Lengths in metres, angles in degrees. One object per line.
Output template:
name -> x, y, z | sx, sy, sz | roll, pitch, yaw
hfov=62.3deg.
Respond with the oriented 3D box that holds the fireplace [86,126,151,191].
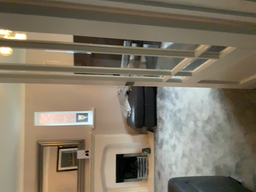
fireplace -> -0.200, 1.310, 3.990 | 0.580, 1.110, 1.390 | 173, 98, -75
